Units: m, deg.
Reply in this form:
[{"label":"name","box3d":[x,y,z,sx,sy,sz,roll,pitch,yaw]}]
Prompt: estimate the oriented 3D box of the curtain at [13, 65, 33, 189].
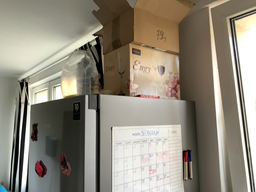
[{"label":"curtain","box3d":[-1.560,0.430,3.140,0.100,1.680,0.540,3,-7,-39]}]
